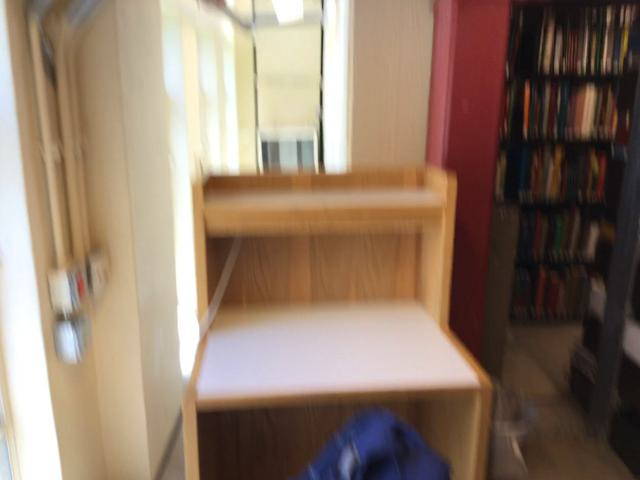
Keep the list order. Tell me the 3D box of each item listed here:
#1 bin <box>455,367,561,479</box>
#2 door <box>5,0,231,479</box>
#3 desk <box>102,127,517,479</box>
[{"bbox_3d":[0.640,0.710,2.030,0.250,0.380,0.360,-3,15,2],"label":"bin"},{"bbox_3d":[-0.640,-0.010,2.130,0.290,1.980,0.820,-3,15,2],"label":"door"},{"bbox_3d":[0.020,0.390,1.680,0.830,1.310,0.740,-3,15,2],"label":"desk"}]
